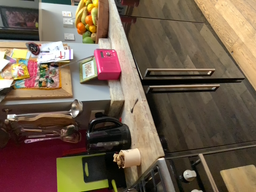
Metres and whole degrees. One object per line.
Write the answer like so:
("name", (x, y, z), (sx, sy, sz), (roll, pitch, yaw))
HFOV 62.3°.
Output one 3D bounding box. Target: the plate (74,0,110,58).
("plate", (-0.310, -0.620, 1.710), (0.400, 0.180, 0.470), (113, 149, -49))
